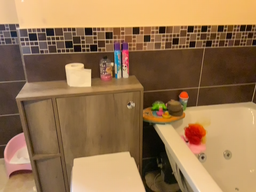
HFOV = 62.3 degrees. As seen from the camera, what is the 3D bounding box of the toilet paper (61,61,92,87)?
[{"bbox_3d":[-0.310,-0.140,1.300,0.170,0.120,0.130,-4,23,-10],"label":"toilet paper"}]
